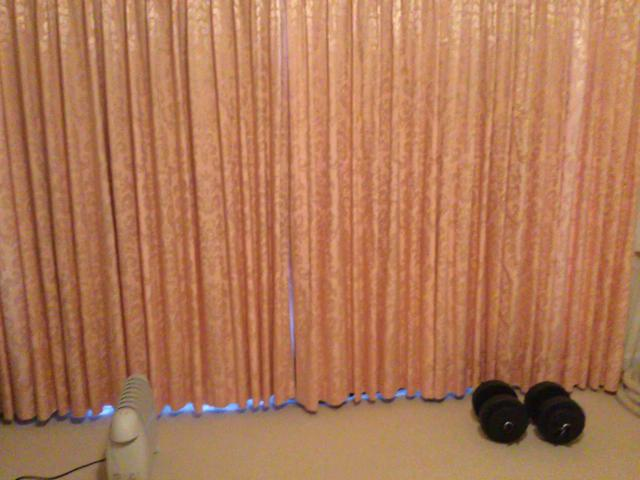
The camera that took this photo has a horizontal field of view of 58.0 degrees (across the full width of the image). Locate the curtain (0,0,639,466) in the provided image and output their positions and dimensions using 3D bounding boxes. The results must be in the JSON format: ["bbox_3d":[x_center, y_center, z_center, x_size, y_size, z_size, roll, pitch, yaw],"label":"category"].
[{"bbox_3d":[-0.120,-0.110,2.610,3.500,1.950,0.340,-5,9,-4],"label":"curtain"}]
